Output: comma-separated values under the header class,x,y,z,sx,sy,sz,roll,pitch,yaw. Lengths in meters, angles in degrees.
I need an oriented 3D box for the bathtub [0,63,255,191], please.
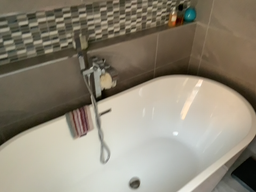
class,x,y,z,sx,sy,sz,roll,pitch,yaw
bathtub,0.020,0.430,1.370,1.700,0.580,0.850,-23,42,-29
